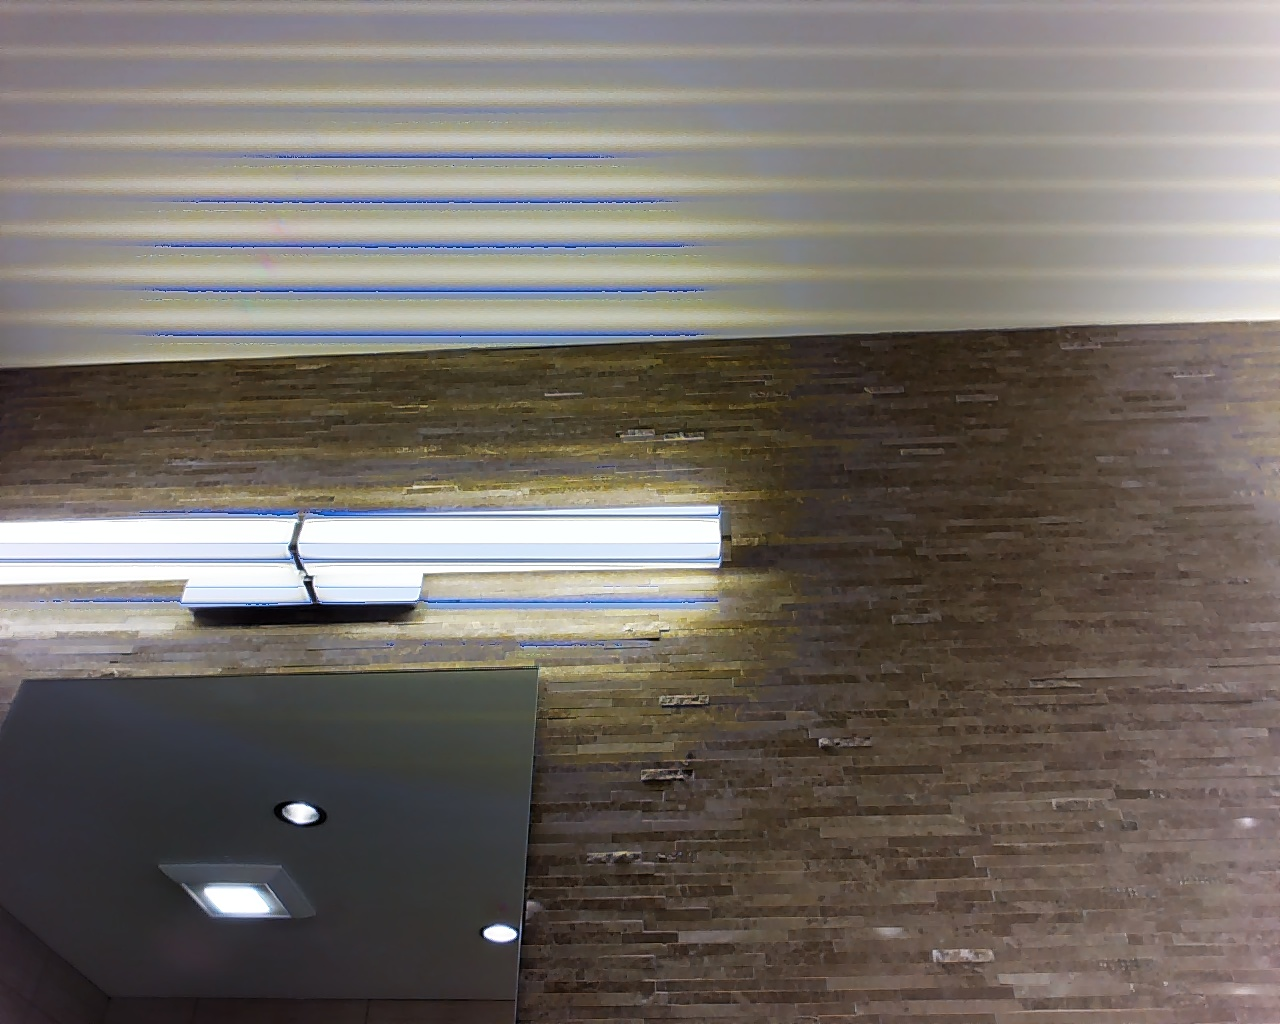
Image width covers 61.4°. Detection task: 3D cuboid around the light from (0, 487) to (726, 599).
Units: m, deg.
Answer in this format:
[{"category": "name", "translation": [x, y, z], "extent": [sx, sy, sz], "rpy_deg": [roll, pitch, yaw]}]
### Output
[{"category": "light", "translation": [-0.390, 0.040, 1.290], "extent": [0.980, 0.070, 0.080], "rpy_deg": [-2, -42, 2]}]
